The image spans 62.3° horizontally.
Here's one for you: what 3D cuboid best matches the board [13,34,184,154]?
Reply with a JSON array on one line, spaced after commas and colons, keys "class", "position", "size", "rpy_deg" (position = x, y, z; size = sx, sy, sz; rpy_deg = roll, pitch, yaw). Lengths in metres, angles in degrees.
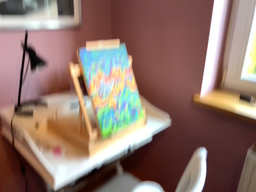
[{"class": "board", "position": [-0.160, -0.120, 1.310], "size": [0.690, 0.420, 0.710], "rpy_deg": [19, 28, 39]}]
